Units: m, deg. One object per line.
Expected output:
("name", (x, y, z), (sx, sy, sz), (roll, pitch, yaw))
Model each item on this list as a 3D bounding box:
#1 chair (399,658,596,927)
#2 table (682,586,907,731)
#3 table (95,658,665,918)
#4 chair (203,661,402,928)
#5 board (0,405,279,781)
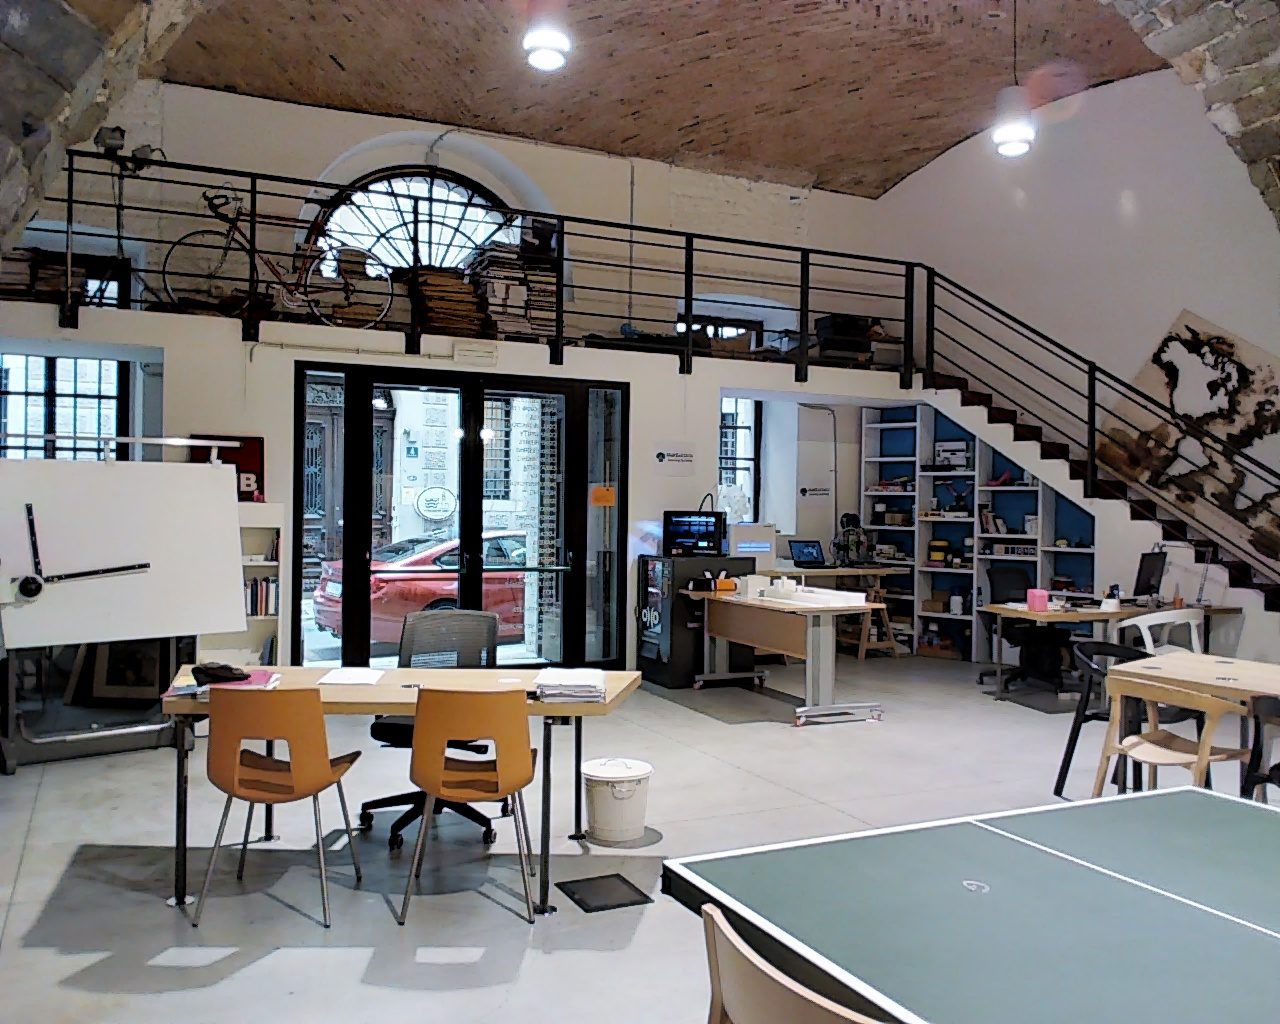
("chair", (-0.510, 1.010, 4.050), (0.590, 0.810, 0.670), (1, 1, 5))
("table", (1.090, 1.030, 8.040), (0.890, 0.810, 1.690), (1, 1, -24))
("table", (-0.920, 1.040, 4.290), (2.009, 0.740, 0.960), (1, 1, 1))
("chair", (-1.220, 1.000, 3.970), (0.480, 0.800, 0.610), (1, 1, 7))
("board", (-2.879, 0.440, 6.010), (1.620, 1.901, 0.360), (3, -8, -42))
